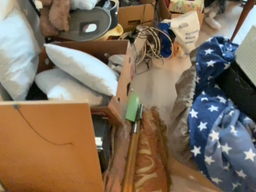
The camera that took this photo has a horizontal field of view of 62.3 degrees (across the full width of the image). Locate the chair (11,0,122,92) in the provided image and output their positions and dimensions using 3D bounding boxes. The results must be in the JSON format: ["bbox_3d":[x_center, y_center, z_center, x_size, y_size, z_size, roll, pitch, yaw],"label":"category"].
[{"bbox_3d":[-0.310,-0.440,1.420,0.490,0.760,0.430,5,57,2],"label":"chair"}]
